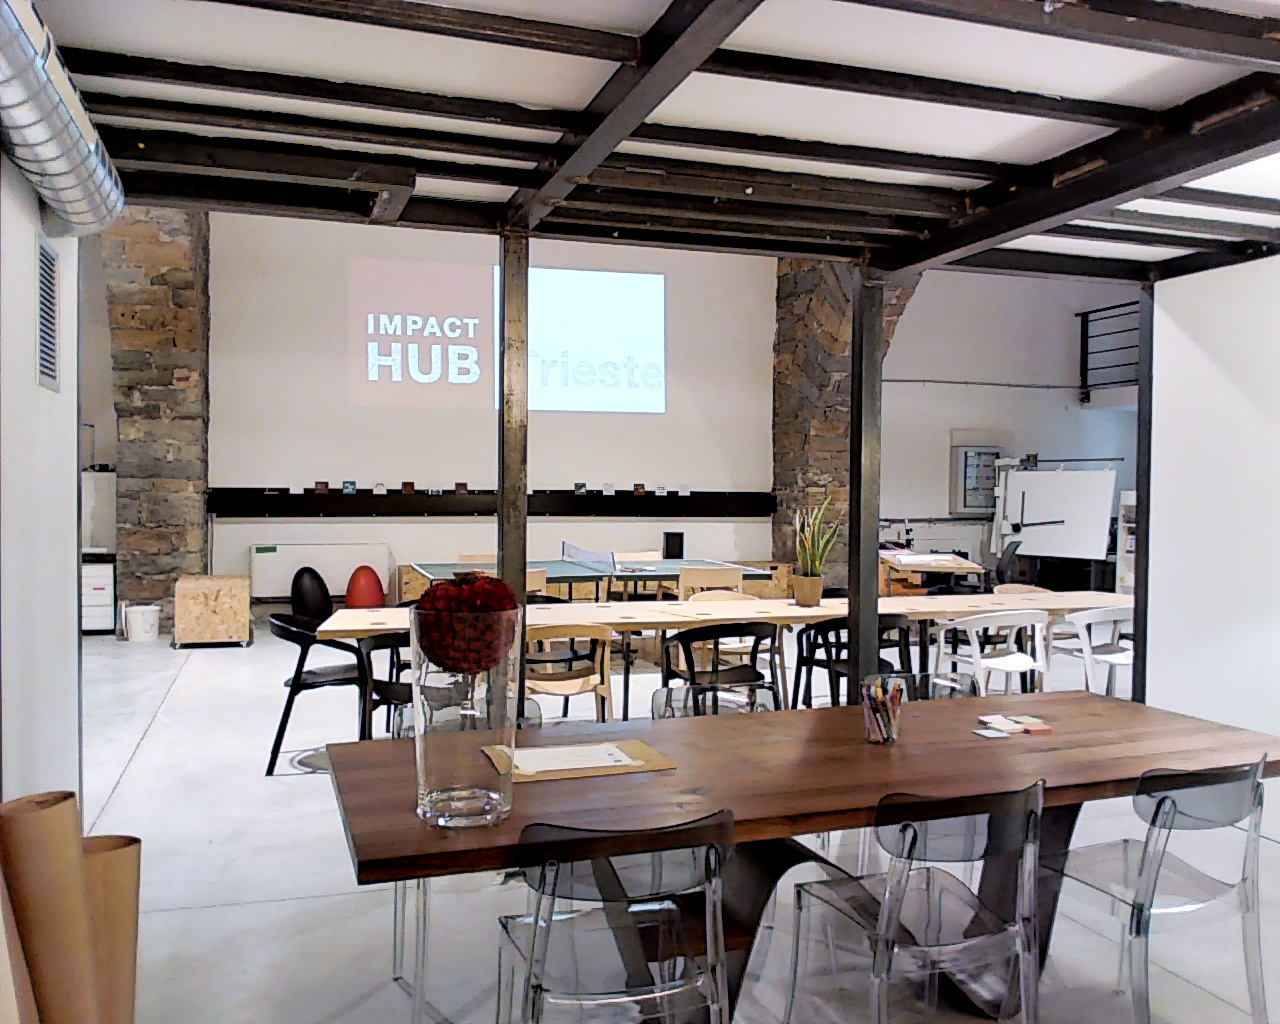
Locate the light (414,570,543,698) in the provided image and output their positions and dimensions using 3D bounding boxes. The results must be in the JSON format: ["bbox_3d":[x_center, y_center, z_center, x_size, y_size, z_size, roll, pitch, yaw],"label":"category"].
[{"bbox_3d":[-0.360,0.260,2.370,0.230,0.240,0.230,0,2,-23],"label":"light"}]

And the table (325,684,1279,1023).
[{"bbox_3d":[0.530,1.020,2.980,2.649,0.770,1.100,0,2,-18],"label":"table"}]
